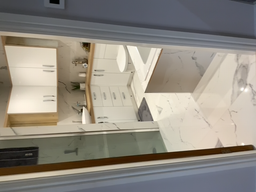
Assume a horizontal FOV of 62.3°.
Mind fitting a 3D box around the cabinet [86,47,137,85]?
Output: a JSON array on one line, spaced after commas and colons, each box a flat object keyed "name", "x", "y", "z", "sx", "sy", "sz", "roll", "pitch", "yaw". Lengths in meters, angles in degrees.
[{"name": "cabinet", "x": -0.320, "y": -0.530, "z": 3.860, "sx": 0.560, "sy": 0.780, "sz": 0.320, "roll": 108, "pitch": 154, "yaw": -43}]

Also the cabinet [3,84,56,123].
[{"name": "cabinet", "x": -1.600, "y": 0.110, "z": 3.550, "sx": 0.230, "sy": 0.740, "sz": 0.630, "roll": 108, "pitch": 154, "yaw": -43}]
